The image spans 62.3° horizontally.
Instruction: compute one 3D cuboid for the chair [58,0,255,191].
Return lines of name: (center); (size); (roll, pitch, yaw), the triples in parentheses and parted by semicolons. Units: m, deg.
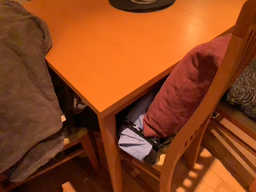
chair: (0.100, 0.000, 0.920); (0.420, 1.070, 0.540); (-28, 52, -22)
